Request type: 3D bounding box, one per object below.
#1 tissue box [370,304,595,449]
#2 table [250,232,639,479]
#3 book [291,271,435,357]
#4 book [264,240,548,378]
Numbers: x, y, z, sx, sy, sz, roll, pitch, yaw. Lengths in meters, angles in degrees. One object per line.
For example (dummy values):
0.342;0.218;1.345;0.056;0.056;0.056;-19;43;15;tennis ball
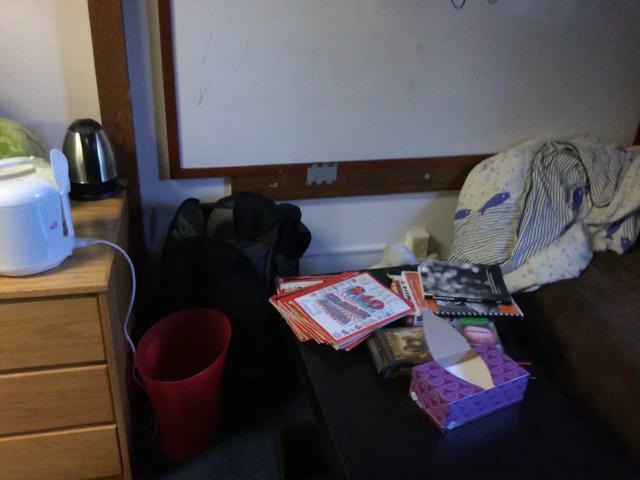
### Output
0.350;0.290;1.310;0.380;0.120;0.290;-4;26;-17;tissue box
0.320;0.560;1.270;0.660;0.540;1.530;-4;26;-17;table
0.100;0.180;1.490;0.290;0.060;0.270;-4;26;-17;book
0.210;0.160;1.580;0.650;0.120;0.400;-4;26;-17;book
